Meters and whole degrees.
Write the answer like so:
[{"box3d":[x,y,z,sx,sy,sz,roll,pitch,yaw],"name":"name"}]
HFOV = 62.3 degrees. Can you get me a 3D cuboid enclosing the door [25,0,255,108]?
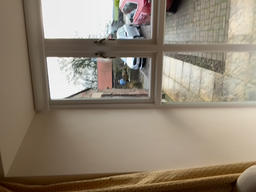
[{"box3d":[0.320,-0.430,1.810,0.110,2.210,1.050,-106,16,-76],"name":"door"}]
